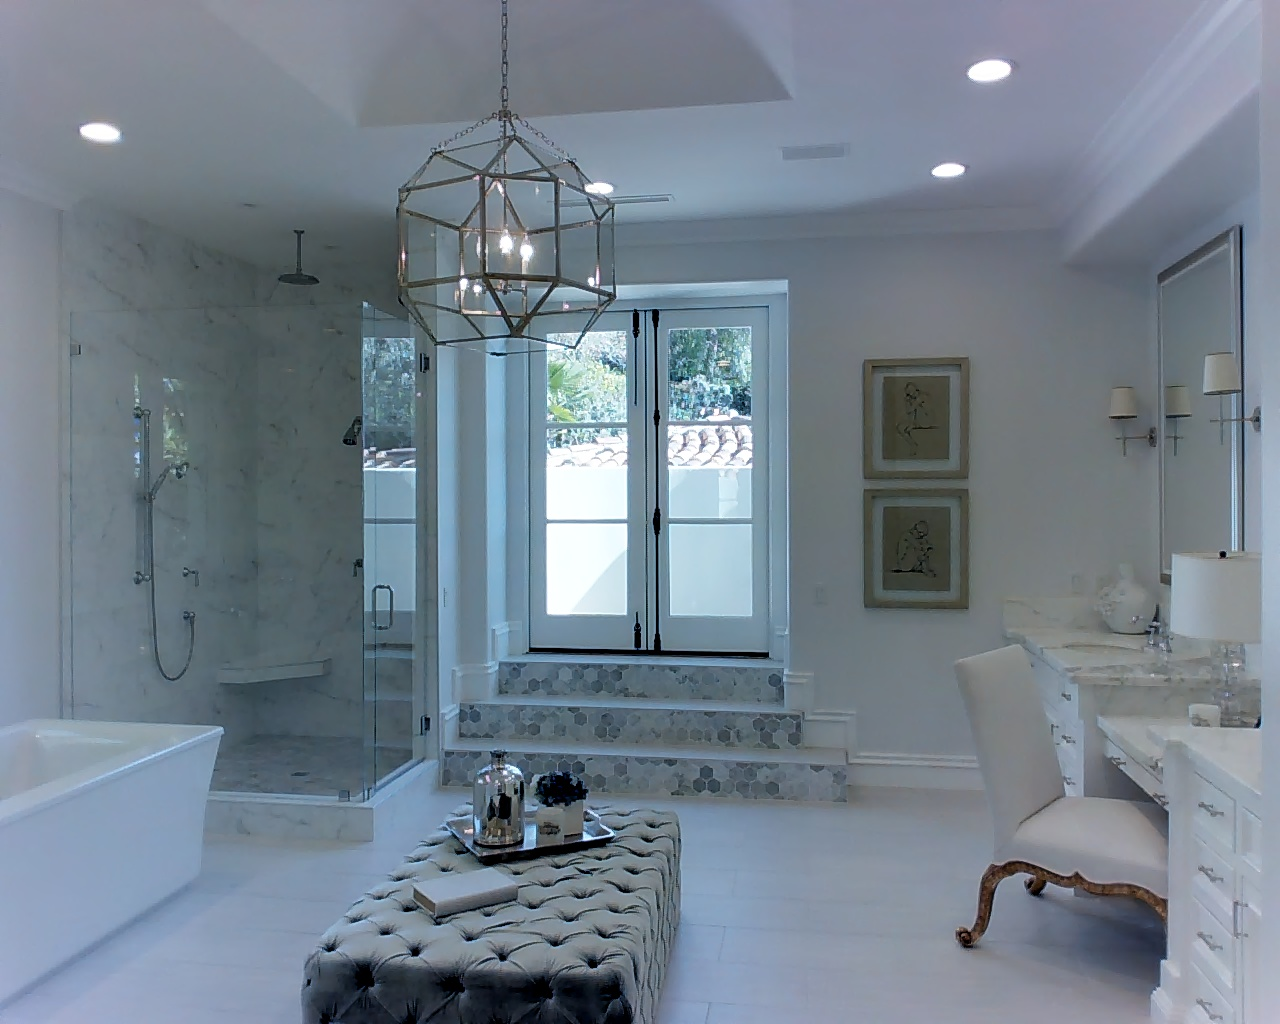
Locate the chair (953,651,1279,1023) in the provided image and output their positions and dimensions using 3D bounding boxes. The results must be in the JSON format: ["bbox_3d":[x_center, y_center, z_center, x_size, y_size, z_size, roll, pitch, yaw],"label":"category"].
[{"bbox_3d":[1.699,1.070,3.820,0.890,1.000,0.740,0,0,42],"label":"chair"}]

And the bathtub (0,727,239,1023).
[{"bbox_3d":[-2.379,1.270,3.720,1.080,0.650,1.830,0,0,10],"label":"bathtub"}]
